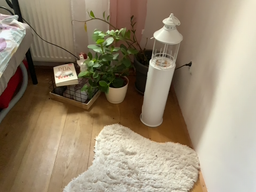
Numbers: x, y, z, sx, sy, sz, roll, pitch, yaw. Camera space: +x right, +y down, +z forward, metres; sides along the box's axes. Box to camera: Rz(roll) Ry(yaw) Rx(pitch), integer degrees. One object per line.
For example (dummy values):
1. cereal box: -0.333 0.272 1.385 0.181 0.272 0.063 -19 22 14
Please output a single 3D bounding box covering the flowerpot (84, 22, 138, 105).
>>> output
1. flowerpot: -0.120 -0.210 1.490 0.310 0.510 0.240 3 40 -3
